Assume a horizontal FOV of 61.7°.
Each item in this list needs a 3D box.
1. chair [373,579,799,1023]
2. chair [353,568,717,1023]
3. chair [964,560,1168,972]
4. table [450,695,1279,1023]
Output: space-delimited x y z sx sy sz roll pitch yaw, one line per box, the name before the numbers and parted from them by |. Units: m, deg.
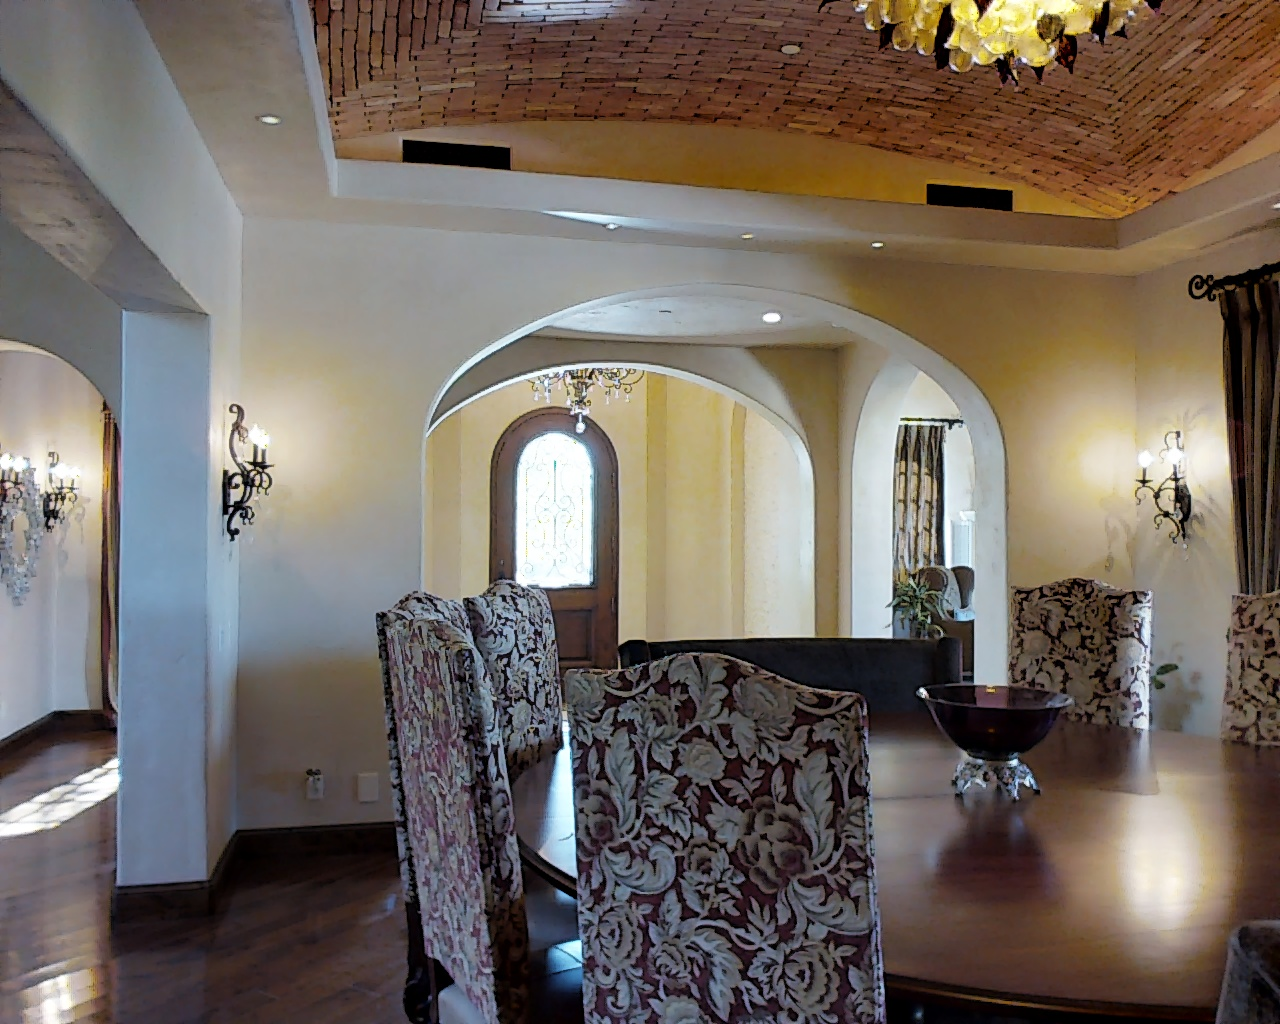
chair | -0.150 0.880 2.540 0.810 1.400 0.660 1 -1 -26
chair | -0.270 0.890 3.200 0.910 1.410 0.690 0 -1 12
chair | 1.680 0.910 4.200 0.640 1.420 0.630 0 -1 31
table | 1.000 1.160 3.030 2.900 0.790 2.750 1 -1 -13
